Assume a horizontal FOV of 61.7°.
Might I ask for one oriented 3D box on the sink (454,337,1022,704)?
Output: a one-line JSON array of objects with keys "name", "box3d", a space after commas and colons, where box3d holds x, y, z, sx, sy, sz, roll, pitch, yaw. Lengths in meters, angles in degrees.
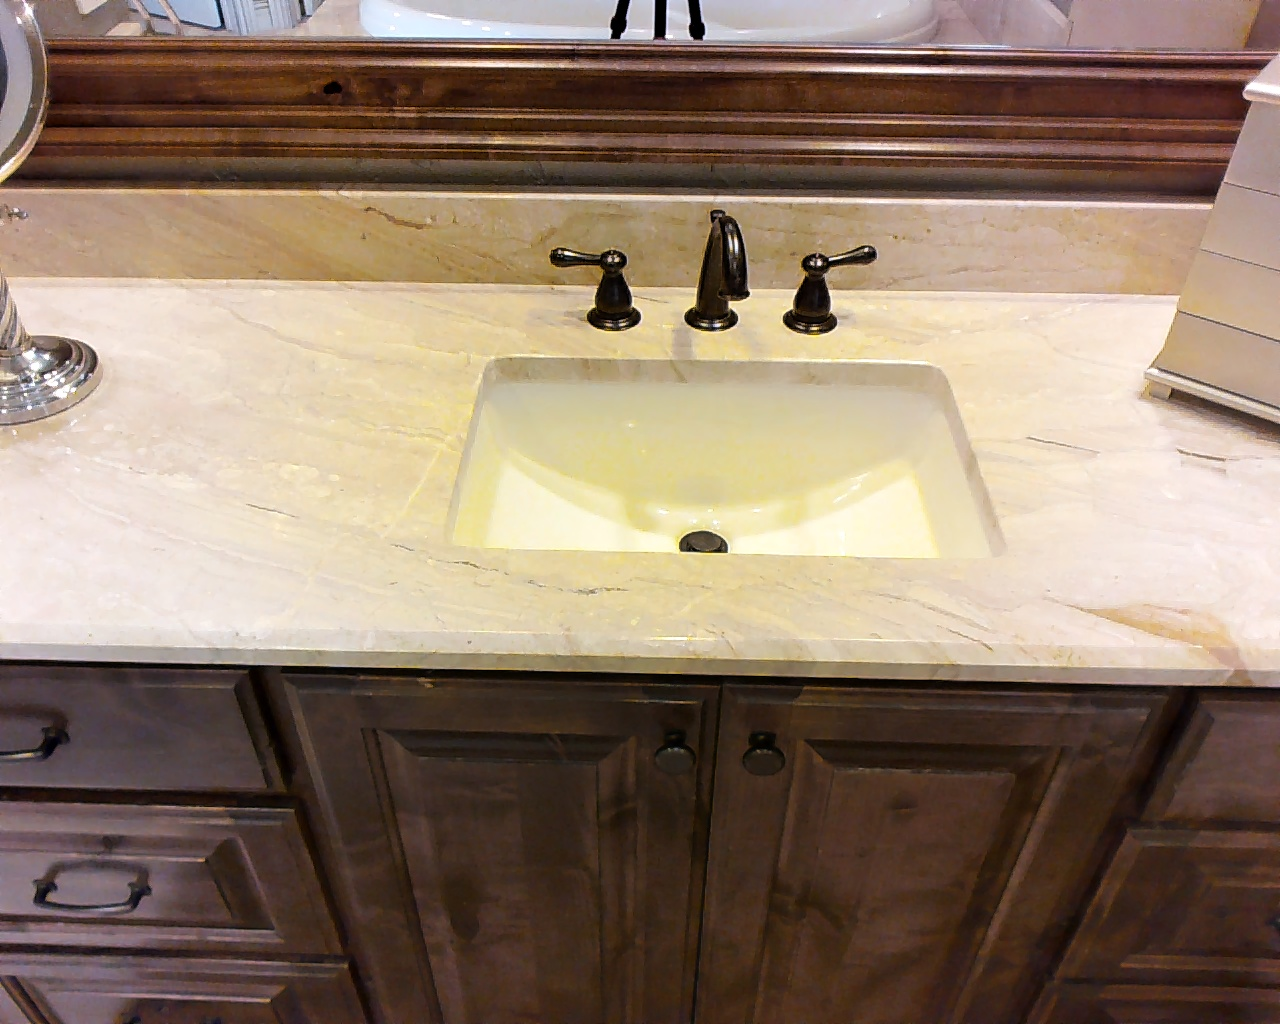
[{"name": "sink", "box3d": [0.080, 0.000, 1.020, 0.450, 0.200, 0.280, 2, 40, 1]}]
